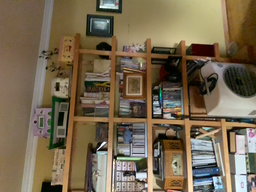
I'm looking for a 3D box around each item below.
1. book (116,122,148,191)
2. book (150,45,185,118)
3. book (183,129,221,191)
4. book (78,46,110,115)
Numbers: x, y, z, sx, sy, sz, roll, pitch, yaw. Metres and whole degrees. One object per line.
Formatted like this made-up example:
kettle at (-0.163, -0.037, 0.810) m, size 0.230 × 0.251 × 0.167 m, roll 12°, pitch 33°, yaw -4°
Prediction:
book at (0.030, 0.640, 2.200) m, size 0.370 × 0.280 × 0.670 m, roll 111°, pitch 161°, yaw -73°
book at (0.430, -0.160, 2.400) m, size 0.260 × 0.300 × 0.780 m, roll 110°, pitch 161°, yaw -72°
book at (0.780, 0.680, 2.280) m, size 0.220 × 0.270 × 0.610 m, roll 112°, pitch 159°, yaw -74°
book at (-0.360, -0.160, 2.310) m, size 0.260 × 0.290 × 0.680 m, roll 114°, pitch 158°, yaw -75°
